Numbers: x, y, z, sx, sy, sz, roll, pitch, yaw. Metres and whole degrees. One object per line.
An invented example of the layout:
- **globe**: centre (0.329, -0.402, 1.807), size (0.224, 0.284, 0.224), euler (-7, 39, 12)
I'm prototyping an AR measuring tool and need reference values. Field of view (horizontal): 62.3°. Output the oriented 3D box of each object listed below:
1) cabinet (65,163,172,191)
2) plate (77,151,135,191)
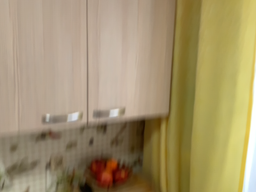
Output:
- **cabinet**: centre (-0.060, 0.550, 1.090), size (0.450, 0.190, 0.320), euler (-3, 11, -28)
- **plate**: centre (-0.120, 0.400, 1.120), size (0.250, 0.110, 0.190), euler (-3, 11, -30)
